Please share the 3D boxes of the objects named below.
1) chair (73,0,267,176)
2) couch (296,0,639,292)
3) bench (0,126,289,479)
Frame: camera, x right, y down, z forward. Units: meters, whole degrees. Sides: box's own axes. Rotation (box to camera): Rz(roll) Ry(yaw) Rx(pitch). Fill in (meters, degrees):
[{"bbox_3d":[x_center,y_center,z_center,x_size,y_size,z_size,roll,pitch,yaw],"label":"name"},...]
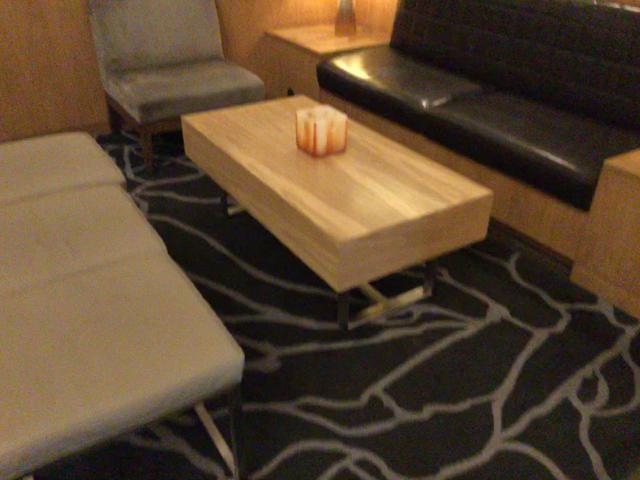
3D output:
[{"bbox_3d":[-0.800,-0.920,3.160,0.760,0.800,0.700,-18,36,-31],"label":"chair"},{"bbox_3d":[0.710,-0.710,2.780,0.700,0.930,1.900,-18,36,-31],"label":"couch"},{"bbox_3d":[-0.760,0.140,1.740,0.610,0.440,1.490,-18,36,-31],"label":"bench"}]
